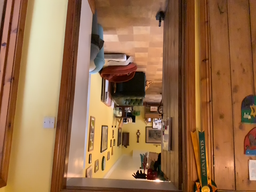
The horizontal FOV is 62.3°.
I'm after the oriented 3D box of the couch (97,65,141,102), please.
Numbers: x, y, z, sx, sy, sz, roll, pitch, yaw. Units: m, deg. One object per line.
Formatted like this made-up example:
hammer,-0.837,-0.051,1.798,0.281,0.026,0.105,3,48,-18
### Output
couch,-0.160,-0.290,6.110,0.920,0.690,1.850,0,171,9
